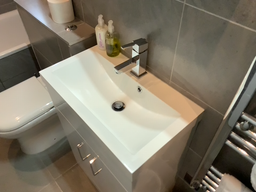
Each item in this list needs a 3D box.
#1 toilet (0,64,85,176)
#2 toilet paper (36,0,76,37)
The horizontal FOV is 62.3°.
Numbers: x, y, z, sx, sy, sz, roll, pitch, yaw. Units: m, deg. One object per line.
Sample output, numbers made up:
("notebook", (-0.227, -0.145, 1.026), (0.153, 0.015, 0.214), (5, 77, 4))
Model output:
("toilet", (-0.680, 0.160, 1.530), (0.510, 0.470, 0.420), (-33, 55, -26))
("toilet paper", (-0.380, -0.440, 1.120), (0.110, 0.170, 0.160), (-32, 54, -26))
